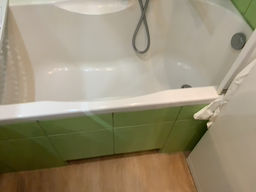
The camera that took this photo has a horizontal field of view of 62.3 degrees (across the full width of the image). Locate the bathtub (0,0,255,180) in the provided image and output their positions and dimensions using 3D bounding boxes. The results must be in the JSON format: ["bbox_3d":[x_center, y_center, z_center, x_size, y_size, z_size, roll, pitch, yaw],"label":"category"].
[{"bbox_3d":[-0.170,-0.080,1.110,1.420,0.550,0.680,-8,56,-9],"label":"bathtub"}]
